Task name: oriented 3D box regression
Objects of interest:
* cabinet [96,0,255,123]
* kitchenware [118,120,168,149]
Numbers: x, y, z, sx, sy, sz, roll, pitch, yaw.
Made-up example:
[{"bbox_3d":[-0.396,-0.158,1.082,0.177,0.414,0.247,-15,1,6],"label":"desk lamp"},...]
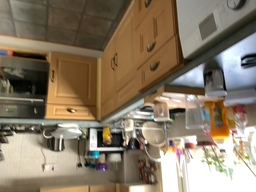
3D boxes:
[{"bbox_3d":[0.220,-0.340,1.750,0.650,0.910,1.470,3,164,-21],"label":"cabinet"},{"bbox_3d":[0.130,0.390,2.100,0.310,0.230,0.450,4,164,-24],"label":"kitchenware"}]
